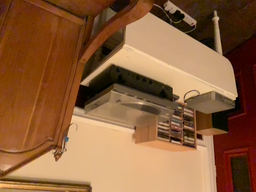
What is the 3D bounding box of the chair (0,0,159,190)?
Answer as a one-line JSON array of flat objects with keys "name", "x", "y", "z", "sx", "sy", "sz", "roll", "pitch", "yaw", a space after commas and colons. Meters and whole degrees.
[{"name": "chair", "x": -0.340, "y": -0.350, "z": 0.940, "sx": 0.670, "sy": 1.330, "sz": 0.670, "roll": 18, "pitch": 154, "yaw": -30}]
